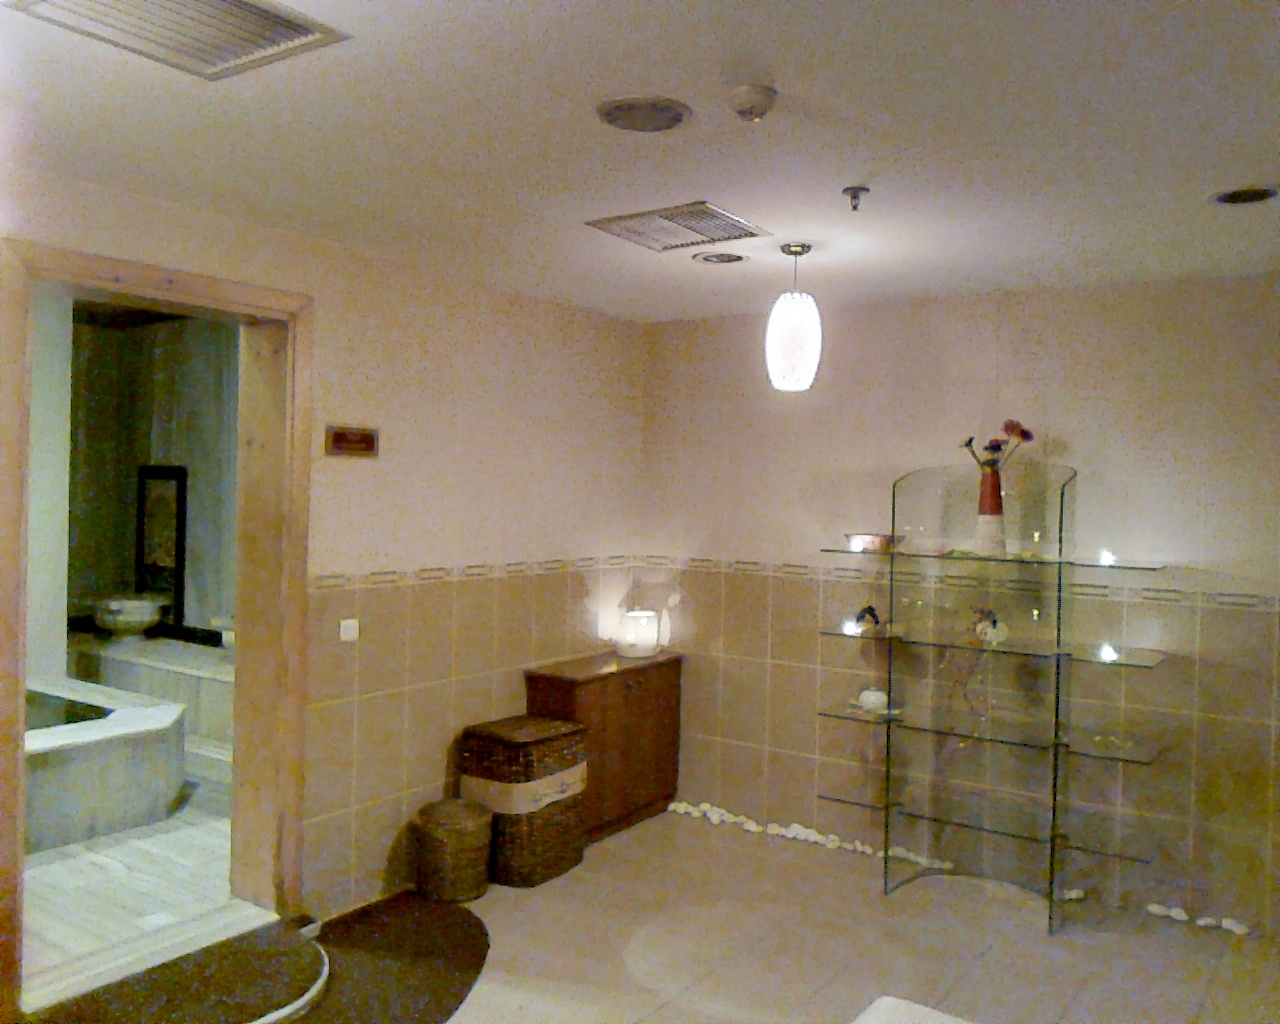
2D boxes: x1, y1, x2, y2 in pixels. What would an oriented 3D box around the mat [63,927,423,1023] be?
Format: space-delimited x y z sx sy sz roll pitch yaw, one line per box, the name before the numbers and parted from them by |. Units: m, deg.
mat | -1.220 1.490 3.190 0.540 0.060 1.050 1 1 34
